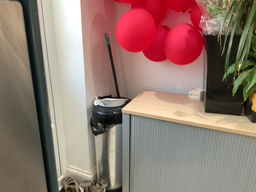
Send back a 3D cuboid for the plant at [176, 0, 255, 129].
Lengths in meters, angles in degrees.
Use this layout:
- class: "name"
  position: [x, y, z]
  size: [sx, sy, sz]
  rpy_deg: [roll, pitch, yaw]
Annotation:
- class: "plant"
  position: [0.590, -0.370, 1.100]
  size: [0.520, 0.950, 0.410]
  rpy_deg: [9, 21, 22]
